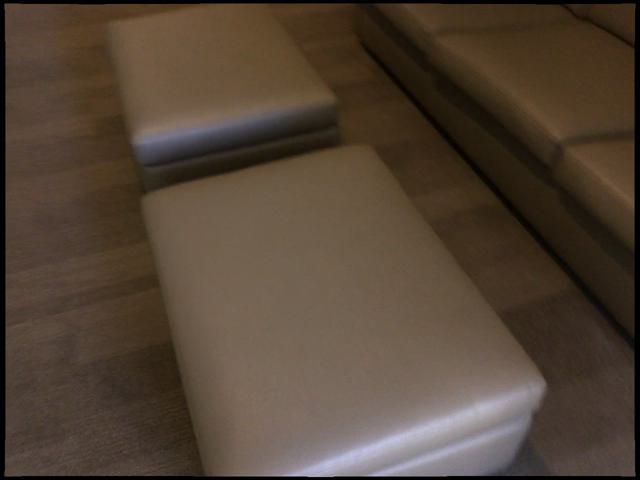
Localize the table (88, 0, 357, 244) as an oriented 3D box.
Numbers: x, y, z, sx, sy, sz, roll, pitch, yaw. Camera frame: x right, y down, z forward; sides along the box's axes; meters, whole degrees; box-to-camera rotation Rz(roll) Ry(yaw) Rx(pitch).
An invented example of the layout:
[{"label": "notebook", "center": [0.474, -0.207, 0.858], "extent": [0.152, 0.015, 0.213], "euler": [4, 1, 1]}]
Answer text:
[{"label": "table", "center": [-0.349, -0.471, 1.980], "extent": [0.649, 0.380, 0.790], "euler": [-17, 48, -17]}]

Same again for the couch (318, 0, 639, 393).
[{"label": "couch", "center": [0.908, -0.581, 1.910], "extent": [0.998, 0.711, 2.271], "euler": [-17, 48, -17]}]
